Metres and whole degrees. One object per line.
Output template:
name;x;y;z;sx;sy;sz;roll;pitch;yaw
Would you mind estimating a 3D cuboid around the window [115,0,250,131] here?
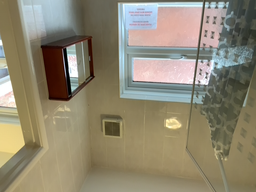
window;0.420;-0.310;2.010;1.000;1.110;0.440;4;-157;8
